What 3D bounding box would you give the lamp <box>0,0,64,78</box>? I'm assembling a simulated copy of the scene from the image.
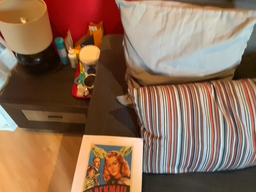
[{"bbox_3d":[-0.500,-0.290,1.070,0.230,0.350,0.200,5,53,2],"label":"lamp"}]
